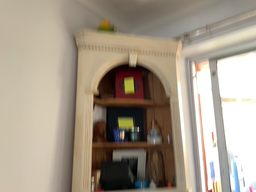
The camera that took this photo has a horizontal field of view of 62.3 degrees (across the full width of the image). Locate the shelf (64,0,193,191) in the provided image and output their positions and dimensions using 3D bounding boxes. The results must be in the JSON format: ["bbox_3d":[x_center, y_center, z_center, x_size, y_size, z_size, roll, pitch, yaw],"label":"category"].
[{"bbox_3d":[0.030,0.060,1.630,0.570,1.180,0.740,-12,-18,38],"label":"shelf"}]
